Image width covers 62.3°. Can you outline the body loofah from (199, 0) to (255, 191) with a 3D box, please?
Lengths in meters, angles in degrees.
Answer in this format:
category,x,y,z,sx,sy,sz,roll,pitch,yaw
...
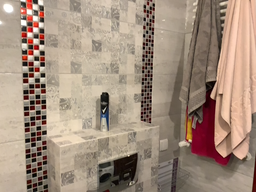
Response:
category,x,y,z,sx,sy,sz,roll,pitch,yaw
body loofah,0.580,-0.100,1.160,0.220,1.160,0.210,-5,9,-43

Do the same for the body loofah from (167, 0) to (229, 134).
category,x,y,z,sx,sy,sz,roll,pitch,yaw
body loofah,0.430,-0.270,1.320,0.190,0.950,0.260,-5,9,-42
